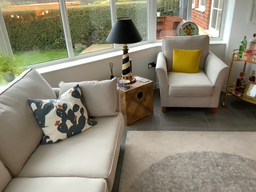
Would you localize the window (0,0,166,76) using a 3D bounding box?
[{"bbox_3d":[-0.380,-1.070,2.950,2.520,0.990,0.160,-21,32,-35],"label":"window"}]

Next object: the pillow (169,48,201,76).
[{"bbox_3d":[0.850,-0.520,3.210,0.410,0.360,0.240,2,26,8],"label":"pillow"}]
